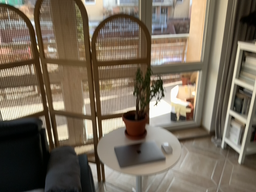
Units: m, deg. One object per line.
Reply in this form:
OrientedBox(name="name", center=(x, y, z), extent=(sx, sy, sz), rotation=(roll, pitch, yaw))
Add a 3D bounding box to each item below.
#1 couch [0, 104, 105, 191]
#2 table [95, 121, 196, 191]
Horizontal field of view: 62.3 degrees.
OrientedBox(name="couch", center=(-0.780, 0.690, 1.540), extent=(1.090, 0.820, 1.000), rotation=(-7, 23, -15))
OrientedBox(name="table", center=(0.090, 0.680, 1.680), extent=(0.580, 0.710, 0.560), rotation=(-6, 23, -14))
